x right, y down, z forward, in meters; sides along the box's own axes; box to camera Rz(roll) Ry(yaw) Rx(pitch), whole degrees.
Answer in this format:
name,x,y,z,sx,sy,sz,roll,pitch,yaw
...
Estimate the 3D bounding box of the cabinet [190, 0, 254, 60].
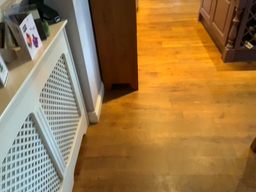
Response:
name,x,y,z,sx,sy,sz,roll,pitch,yaw
cabinet,1.160,-1.140,2.860,0.260,0.720,1.340,-1,40,2
